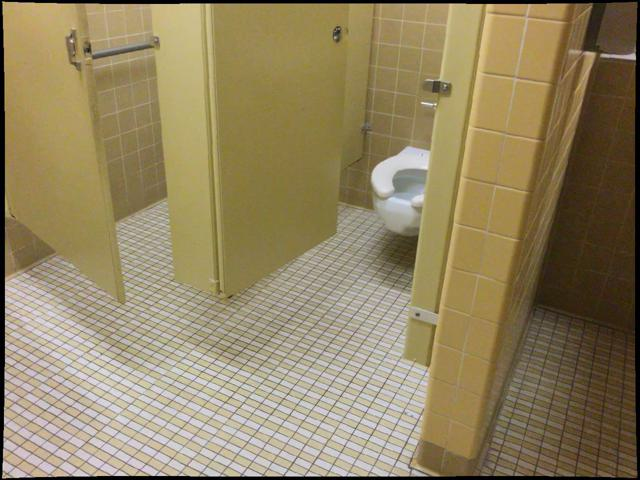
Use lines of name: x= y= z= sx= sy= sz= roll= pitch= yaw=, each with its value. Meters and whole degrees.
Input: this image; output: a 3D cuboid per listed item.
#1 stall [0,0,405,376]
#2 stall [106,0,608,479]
stall: x=-0.469 y=-0.932 z=2.230 sx=1.168 sy=2.184 sz=1.430 roll=14 pitch=30 yaw=24
stall: x=0.289 y=-0.451 z=2.030 sx=1.088 sy=1.573 sz=1.540 roll=14 pitch=30 yaw=24
